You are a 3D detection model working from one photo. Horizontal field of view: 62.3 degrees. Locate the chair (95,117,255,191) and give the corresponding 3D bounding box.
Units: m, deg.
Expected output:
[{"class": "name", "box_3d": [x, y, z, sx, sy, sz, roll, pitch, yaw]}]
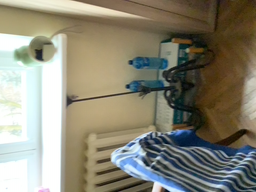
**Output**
[{"class": "chair", "box_3d": [0.420, 0.490, 0.910, 0.600, 0.950, 0.620, 11, 101, 56]}]
